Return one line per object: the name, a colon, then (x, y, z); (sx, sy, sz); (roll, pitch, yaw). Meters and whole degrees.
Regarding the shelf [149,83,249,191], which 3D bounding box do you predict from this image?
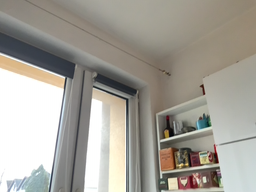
shelf: (0.390, 0.290, 1.340); (0.170, 0.570, 0.510); (20, -32, -36)
